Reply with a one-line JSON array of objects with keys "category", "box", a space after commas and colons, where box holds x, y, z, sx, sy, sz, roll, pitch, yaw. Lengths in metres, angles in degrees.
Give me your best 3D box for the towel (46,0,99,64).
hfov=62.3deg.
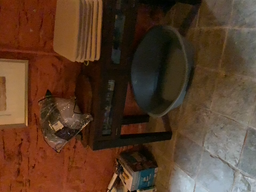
[{"category": "towel", "box": [-0.400, -0.470, 1.450, 0.470, 0.210, 0.440, 26, 113, 57]}]
